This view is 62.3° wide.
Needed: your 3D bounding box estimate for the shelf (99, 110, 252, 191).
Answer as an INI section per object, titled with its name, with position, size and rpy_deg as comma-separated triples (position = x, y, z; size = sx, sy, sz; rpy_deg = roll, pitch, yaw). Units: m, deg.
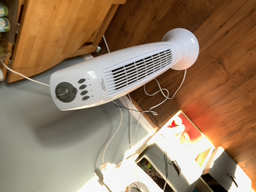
[shelf]
position = 0.380, 0.610, 1.160
size = 0.910, 0.570, 0.300
rpy_deg = 49, 129, 9
